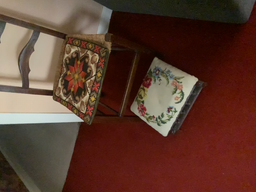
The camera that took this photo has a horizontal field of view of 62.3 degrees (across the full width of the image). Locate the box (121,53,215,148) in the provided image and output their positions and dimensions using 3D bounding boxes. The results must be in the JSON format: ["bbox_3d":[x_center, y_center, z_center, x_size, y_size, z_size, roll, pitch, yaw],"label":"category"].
[{"bbox_3d":[0.190,0.020,1.090,0.310,0.160,0.350,40,111,35],"label":"box"}]
